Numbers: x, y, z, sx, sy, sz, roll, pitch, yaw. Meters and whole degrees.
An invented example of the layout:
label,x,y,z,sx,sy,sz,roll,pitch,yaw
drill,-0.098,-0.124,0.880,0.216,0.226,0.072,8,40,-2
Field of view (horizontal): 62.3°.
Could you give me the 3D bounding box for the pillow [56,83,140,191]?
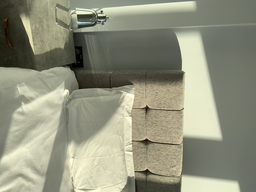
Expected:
label,x,y,z,sx,sy,sz,roll,pitch,yaw
pillow,-0.180,0.330,1.390,0.190,0.480,0.810,-104,-166,-78
